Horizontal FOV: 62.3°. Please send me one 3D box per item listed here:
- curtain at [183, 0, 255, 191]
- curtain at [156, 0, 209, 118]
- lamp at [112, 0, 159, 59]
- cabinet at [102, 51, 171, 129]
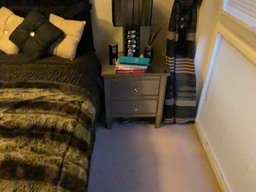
[{"bbox_3d":[0.580,-0.180,0.750,0.090,2.030,1.550,1,34,-1],"label":"curtain"},{"bbox_3d":[0.400,-0.820,1.370,0.180,2.160,0.410,0,34,-1],"label":"curtain"},{"bbox_3d":[0.050,-0.550,1.700,0.330,0.460,0.190,1,34,0],"label":"lamp"},{"bbox_3d":[0.050,-0.060,1.870,0.500,0.520,0.450,0,34,-2],"label":"cabinet"}]
